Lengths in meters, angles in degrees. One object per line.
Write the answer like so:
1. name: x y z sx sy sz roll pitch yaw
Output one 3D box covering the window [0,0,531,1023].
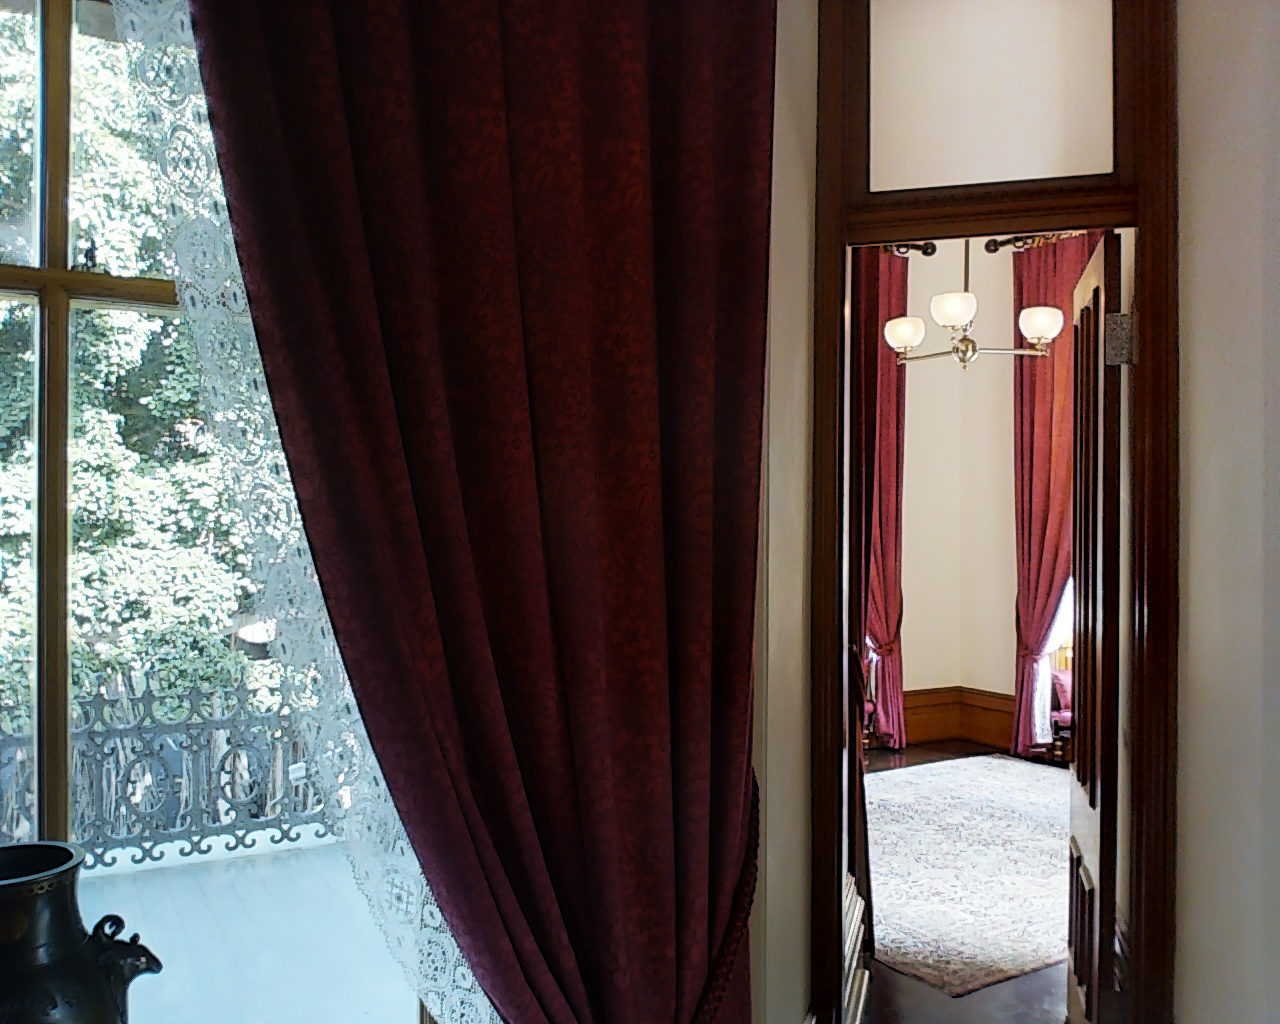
1. window: -0.740 -0.400 1.240 1.280 2.530 0.100 0 1 -28
